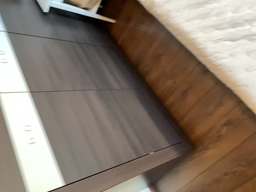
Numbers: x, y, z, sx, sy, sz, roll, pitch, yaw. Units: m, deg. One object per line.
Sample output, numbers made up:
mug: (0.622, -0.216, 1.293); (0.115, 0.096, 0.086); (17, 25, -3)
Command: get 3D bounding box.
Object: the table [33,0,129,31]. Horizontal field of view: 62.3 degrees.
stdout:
table: (-0.370, -0.930, 1.820); (0.330, 0.720, 0.500); (54, 127, 27)
